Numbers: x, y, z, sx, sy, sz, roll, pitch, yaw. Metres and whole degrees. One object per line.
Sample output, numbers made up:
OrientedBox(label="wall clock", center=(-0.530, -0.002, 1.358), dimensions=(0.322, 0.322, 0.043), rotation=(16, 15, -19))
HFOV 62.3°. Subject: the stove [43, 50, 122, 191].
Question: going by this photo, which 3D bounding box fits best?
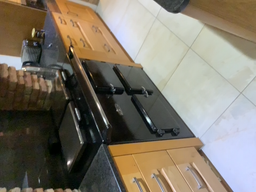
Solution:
OrientedBox(label="stove", center=(-0.450, 0.210, 1.710), dimensions=(0.730, 0.160, 0.960), rotation=(-61, 43, 31))
